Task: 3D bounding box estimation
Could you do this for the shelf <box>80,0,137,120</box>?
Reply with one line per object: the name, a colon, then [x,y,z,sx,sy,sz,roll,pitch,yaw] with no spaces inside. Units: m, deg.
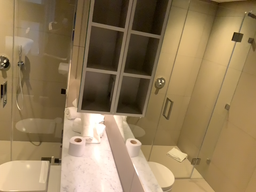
shelf: [-0.110,-0.420,1.280,0.210,1.130,0.230,6,19,-18]
